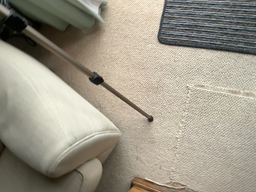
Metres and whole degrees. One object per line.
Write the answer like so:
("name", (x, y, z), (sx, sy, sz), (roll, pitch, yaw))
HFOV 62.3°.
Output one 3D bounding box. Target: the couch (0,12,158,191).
("couch", (-0.570, 0.240, 0.860), (0.810, 0.810, 0.920), (41, 105, 17))
